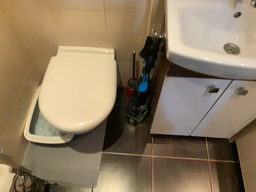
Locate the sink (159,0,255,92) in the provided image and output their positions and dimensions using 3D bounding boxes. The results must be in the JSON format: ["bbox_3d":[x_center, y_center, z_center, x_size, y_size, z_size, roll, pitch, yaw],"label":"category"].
[{"bbox_3d":[0.380,-0.210,0.730,0.520,0.140,0.370,3,61,0],"label":"sink"}]

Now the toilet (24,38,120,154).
[{"bbox_3d":[-0.250,0.020,1.210,0.370,0.440,0.490,3,61,0],"label":"toilet"}]

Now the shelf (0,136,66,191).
[{"bbox_3d":[-0.490,0.390,0.910,0.270,0.600,0.250,0,61,-1],"label":"shelf"}]
